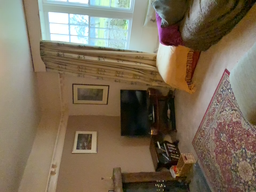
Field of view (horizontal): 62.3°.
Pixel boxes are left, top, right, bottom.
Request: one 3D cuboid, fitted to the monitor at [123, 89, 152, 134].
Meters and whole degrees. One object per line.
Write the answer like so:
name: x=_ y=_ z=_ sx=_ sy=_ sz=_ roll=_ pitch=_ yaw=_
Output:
monitor: x=0.180 y=0.290 z=4.130 sx=0.060 sy=0.560 sz=0.860 roll=122 pitch=149 yaw=-72
